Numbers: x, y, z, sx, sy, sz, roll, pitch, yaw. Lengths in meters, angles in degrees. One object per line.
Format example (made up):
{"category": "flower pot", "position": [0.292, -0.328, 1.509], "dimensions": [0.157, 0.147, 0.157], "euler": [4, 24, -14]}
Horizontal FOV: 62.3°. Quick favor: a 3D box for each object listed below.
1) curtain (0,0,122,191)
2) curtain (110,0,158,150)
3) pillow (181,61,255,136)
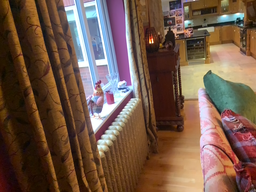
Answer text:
{"category": "curtain", "position": [-0.330, 0.000, 0.950], "dimensions": [0.290, 2.350, 0.410], "euler": [-2, 19, 17]}
{"category": "curtain", "position": [0.100, -0.500, 2.590], "dimensions": [0.250, 2.290, 0.590], "euler": [-3, 19, 16]}
{"category": "pillow", "position": [0.940, -0.030, 1.950], "dimensions": [0.660, 0.410, 0.550], "euler": [-17, 20, -25]}
